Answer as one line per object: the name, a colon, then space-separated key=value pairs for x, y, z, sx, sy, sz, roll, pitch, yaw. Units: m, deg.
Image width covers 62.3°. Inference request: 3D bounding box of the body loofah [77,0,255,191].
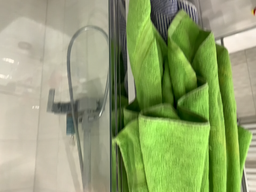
body loofah: x=0.200 y=0.260 z=0.690 sx=0.370 sy=1.200 sz=0.610 roll=-13 pitch=162 yaw=38
